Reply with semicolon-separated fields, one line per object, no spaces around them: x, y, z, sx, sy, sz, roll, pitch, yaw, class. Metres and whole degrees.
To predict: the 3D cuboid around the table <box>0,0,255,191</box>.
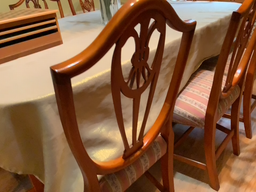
-0.070;-0.160;1.520;1.110;0.760;1.900;23;40;39;table
